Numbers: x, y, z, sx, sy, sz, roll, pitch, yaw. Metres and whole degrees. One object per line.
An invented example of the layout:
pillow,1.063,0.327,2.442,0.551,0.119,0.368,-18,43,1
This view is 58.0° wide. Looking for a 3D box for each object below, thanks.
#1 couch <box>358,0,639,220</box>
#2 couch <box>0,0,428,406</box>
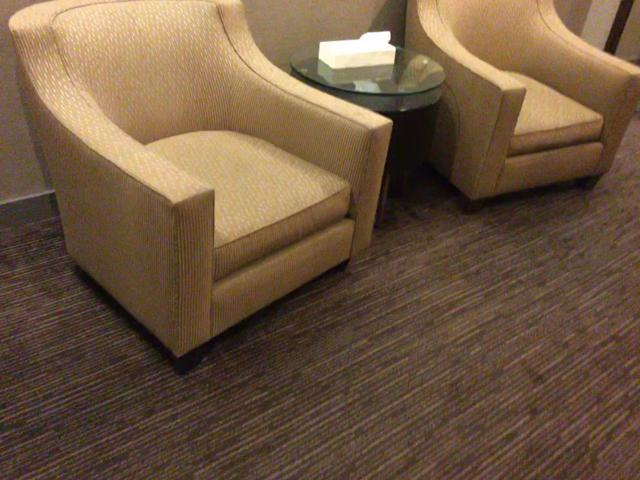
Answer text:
couch,0.870,-0.750,2.660,0.890,0.940,0.930,-5,31,-27
couch,-0.390,-0.280,1.860,0.990,0.860,0.930,27,37,37
